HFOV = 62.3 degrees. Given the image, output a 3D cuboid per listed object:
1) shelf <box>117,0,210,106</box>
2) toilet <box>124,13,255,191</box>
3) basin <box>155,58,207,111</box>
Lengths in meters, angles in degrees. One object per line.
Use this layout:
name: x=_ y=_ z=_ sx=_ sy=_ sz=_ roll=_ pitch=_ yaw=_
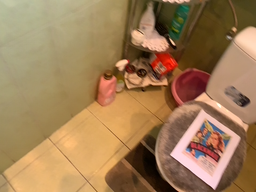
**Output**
shelf: x=0.210 y=-0.470 z=1.050 sx=0.270 sy=1.350 sz=0.330 roll=40 pitch=61 yaw=16
toilet: x=0.410 y=0.150 z=1.050 sx=0.390 sy=0.740 sz=0.720 roll=40 pitch=61 yaw=16
basin: x=0.390 y=-0.090 z=1.570 sx=0.220 sy=0.140 sz=0.310 roll=39 pitch=60 yaw=15
